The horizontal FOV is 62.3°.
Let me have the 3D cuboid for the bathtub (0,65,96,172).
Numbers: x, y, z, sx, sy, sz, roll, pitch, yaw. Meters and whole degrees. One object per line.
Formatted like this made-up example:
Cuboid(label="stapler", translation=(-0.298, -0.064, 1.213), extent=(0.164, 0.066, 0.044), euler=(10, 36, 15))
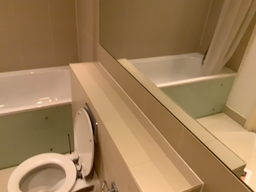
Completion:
Cuboid(label="bathtub", translation=(-1.210, 0.220, 1.890), extent=(1.690, 0.570, 0.700), euler=(-11, 35, -24))
